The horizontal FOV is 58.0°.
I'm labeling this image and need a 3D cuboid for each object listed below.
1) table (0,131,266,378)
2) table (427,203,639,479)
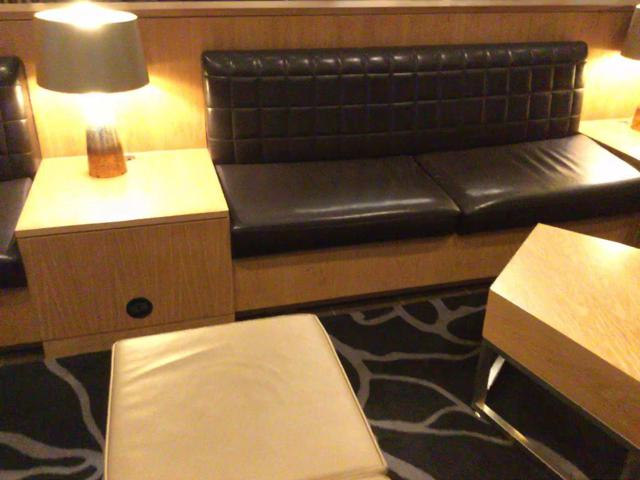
[{"bbox_3d":[-0.670,0.000,2.200,0.790,0.590,0.700,-7,27,-11],"label":"table"},{"bbox_3d":[0.970,0.450,1.460,0.830,0.480,1.510,-7,27,-11],"label":"table"}]
